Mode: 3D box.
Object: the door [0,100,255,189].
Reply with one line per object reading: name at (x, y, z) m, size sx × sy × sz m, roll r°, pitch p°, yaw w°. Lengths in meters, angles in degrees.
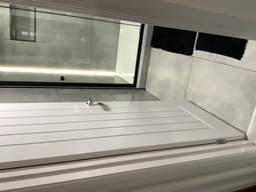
door at (-0.180, 0.200, 1.380) m, size 0.800 × 1.960 × 0.070 m, roll -141°, pitch 55°, yaw -59°
